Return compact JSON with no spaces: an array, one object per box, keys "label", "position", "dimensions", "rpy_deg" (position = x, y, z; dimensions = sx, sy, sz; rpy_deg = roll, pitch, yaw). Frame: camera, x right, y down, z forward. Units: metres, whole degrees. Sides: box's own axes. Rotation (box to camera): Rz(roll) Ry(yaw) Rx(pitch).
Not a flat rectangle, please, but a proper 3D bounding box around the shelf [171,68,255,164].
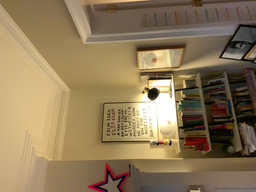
[{"label":"shelf","position":[1.290,0.250,2.700],"dimensions":[0.430,1.330,1.100],"rpy_deg":[79,-170,-65]}]
